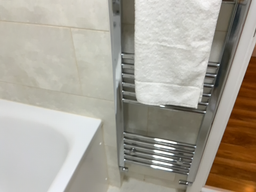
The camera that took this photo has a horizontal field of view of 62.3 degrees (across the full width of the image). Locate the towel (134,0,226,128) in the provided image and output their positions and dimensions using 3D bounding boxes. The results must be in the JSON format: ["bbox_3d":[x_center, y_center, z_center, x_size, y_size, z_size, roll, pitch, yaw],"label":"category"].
[{"bbox_3d":[0.150,-0.170,0.670,0.220,0.560,0.120,10,34,13],"label":"towel"}]
